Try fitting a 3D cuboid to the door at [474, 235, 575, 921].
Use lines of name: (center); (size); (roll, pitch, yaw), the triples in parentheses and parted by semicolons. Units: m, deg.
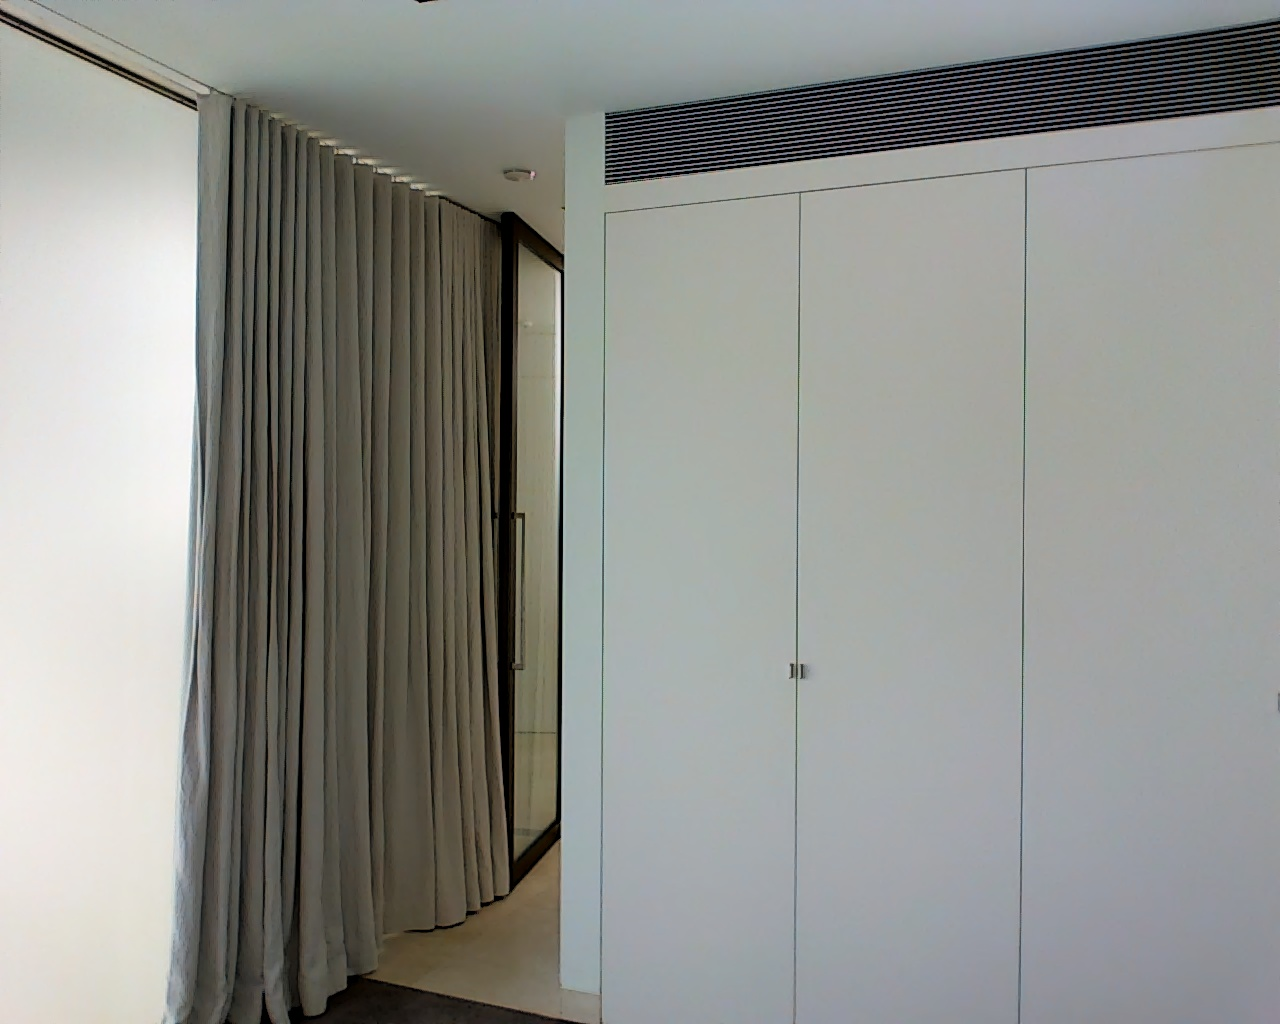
door: (-0.470, 0.250, 4.570); (0.120, 2.591, 1.050); (1, 0, 10)
